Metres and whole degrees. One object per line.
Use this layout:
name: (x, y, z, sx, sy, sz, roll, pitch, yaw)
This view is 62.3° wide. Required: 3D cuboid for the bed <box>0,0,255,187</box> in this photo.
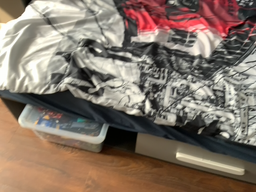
bed: (0.520, -0.130, 1.140, 2.170, 0.530, 0.950, 13, 54, 7)
